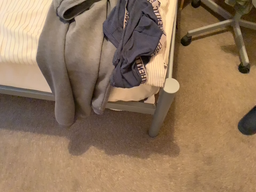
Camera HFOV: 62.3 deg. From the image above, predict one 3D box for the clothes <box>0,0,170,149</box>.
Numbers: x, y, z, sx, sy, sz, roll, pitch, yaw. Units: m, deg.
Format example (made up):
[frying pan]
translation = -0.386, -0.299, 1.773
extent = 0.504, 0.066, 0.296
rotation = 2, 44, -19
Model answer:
[clothes]
translation = -0.100, -0.230, 0.800
extent = 0.440, 0.480, 0.670
rotation = 10, 63, 4
